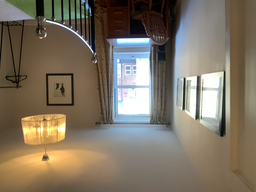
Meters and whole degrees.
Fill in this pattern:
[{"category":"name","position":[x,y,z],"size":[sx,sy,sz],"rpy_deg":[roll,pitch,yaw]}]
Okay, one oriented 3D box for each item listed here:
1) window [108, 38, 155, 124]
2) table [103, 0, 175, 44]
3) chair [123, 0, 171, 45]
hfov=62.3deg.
[{"category":"window","position":[0.090,-0.310,4.540],"size":[0.940,1.720,0.430],"rpy_deg":[0,-176,5]},{"category":"table","position":[0.190,-1.340,3.770],"size":[1.180,0.730,0.540],"rpy_deg":[0,-176,3]},{"category":"chair","position":[0.310,-1.290,3.450],"size":[0.530,0.790,0.560],"rpy_deg":[-4,-174,-43]}]
